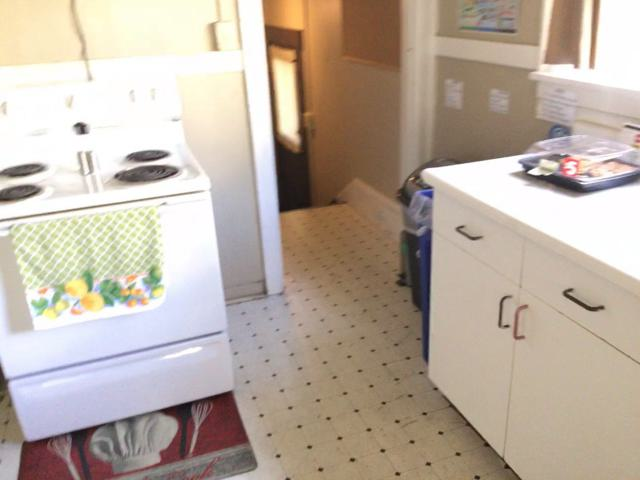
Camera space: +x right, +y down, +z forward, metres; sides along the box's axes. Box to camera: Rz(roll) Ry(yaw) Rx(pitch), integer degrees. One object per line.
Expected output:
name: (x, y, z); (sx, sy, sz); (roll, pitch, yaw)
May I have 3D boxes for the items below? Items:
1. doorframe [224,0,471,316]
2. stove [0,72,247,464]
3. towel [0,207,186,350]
doorframe: (0.100, -0.750, 2.750); (0.960, 2.020, 0.620); (-7, 22, -17)
stove: (-0.810, 0.020, 2.220); (0.840, 1.190, 0.790); (-7, 22, -17)
towel: (-0.720, 0.120, 1.870); (0.520, 0.390, 0.080); (-7, 22, -17)
